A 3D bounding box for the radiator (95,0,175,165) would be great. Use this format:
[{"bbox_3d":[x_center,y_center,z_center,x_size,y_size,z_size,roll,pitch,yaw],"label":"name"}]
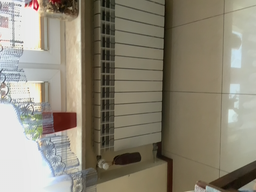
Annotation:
[{"bbox_3d":[0.070,-0.190,1.560,0.200,0.580,1.220,1,93,53],"label":"radiator"}]
